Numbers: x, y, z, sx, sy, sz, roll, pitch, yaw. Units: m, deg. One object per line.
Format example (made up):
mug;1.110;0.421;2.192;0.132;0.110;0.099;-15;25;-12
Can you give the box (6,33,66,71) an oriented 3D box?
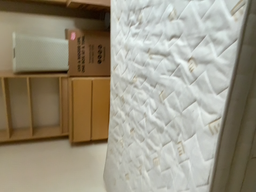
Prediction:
box;-1.050;-0.510;2.480;0.330;0.590;0.380;-143;54;-61
